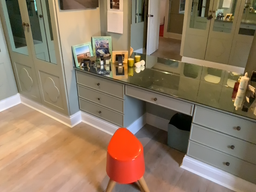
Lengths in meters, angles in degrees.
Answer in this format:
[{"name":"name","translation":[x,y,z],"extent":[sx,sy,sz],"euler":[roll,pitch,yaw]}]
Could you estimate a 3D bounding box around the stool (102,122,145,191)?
[{"name":"stool","translation":[-0.030,0.530,1.810],"extent":[0.310,0.430,0.450],"euler":[1,28,1]}]
